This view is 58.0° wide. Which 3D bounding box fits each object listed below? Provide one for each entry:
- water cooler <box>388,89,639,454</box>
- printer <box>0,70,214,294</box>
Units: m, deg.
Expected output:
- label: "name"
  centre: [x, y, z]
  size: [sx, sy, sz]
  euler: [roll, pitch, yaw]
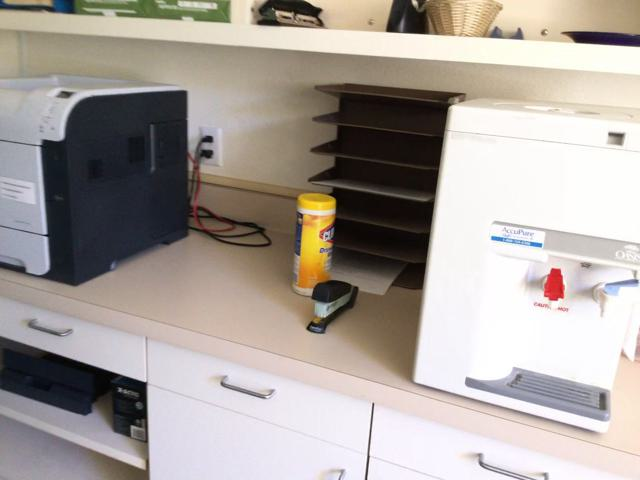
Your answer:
- label: "water cooler"
  centre: [0.380, 0.000, 0.990]
  size: [0.360, 0.450, 0.410]
  euler: [13, 20, 21]
- label: "printer"
  centre: [-0.610, -0.190, 1.440]
  size: [0.470, 0.400, 0.500]
  euler: [13, 20, 21]
